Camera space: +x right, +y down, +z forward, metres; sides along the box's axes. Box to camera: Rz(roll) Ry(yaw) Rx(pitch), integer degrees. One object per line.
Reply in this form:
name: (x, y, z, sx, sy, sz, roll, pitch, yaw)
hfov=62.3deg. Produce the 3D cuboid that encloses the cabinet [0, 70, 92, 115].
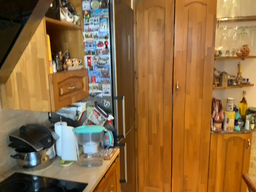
cabinet: (-0.530, -0.050, 1.440, 0.410, 0.220, 0.440, 2, 11, 14)

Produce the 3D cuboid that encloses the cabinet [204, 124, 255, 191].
cabinet: (1.040, 0.740, 2.200, 0.410, 0.830, 0.260, 2, 11, 14)
